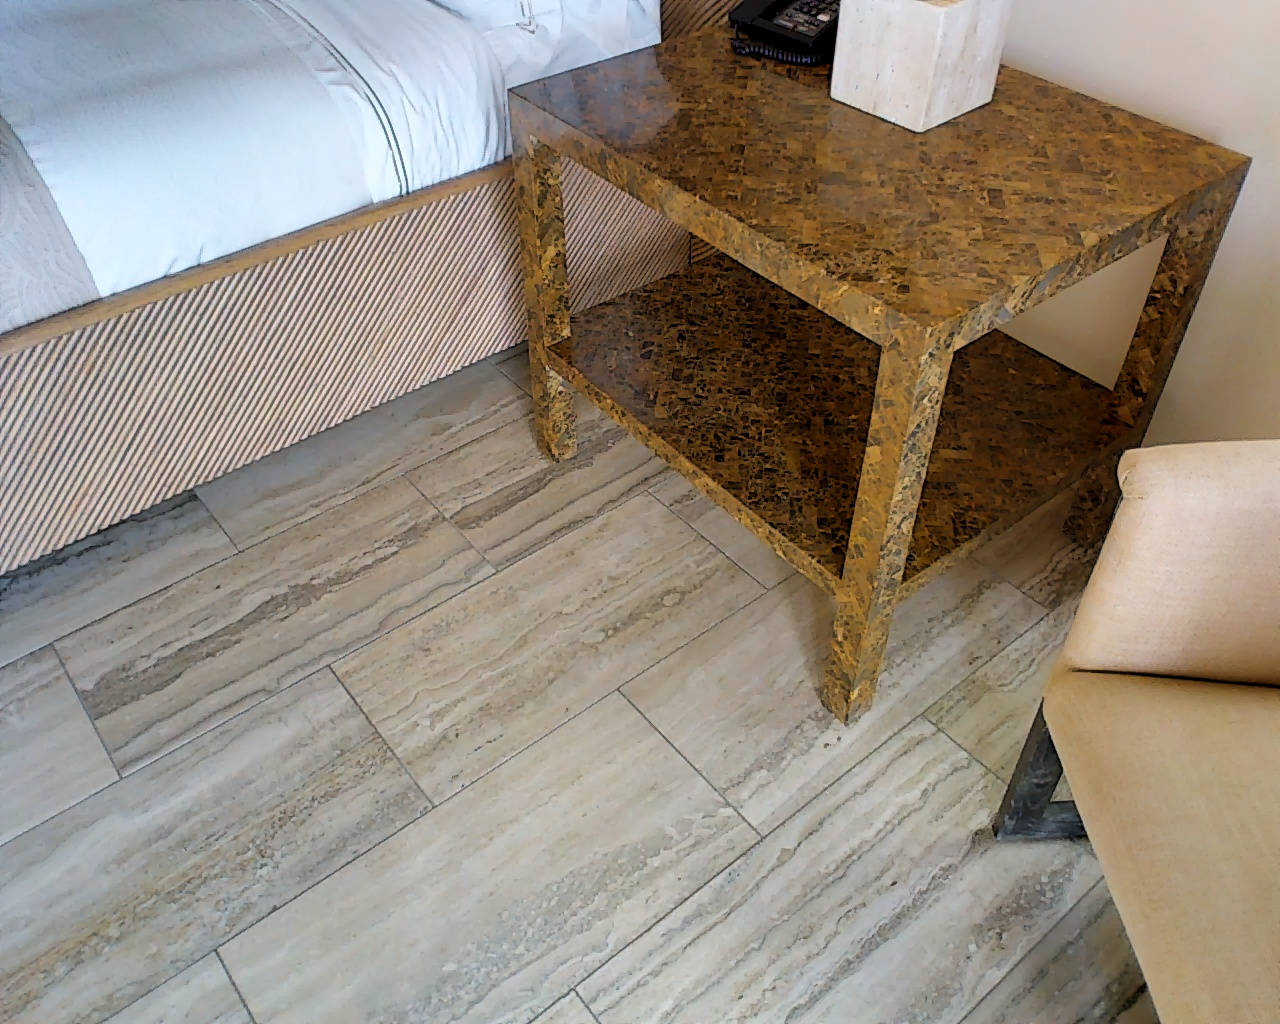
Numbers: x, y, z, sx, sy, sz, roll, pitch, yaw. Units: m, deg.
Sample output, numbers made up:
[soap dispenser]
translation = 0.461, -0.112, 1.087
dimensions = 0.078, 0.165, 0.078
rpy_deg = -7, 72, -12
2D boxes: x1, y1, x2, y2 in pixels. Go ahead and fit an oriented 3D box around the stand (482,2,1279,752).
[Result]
[stand]
translation = 0.310, -0.270, 1.660
dimensions = 0.700, 0.640, 0.820
rpy_deg = -29, 50, -27
